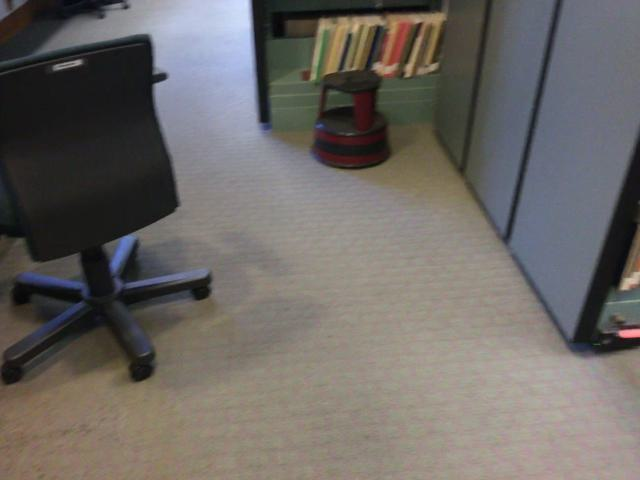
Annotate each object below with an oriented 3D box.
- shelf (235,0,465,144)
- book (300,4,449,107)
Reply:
[{"bbox_3d":[0.100,-1.750,2.600,1.040,2.460,0.700,-4,31,-2],"label":"shelf"},{"bbox_3d":[0.260,-0.980,3.040,0.700,0.390,0.450,-4,31,-2],"label":"book"}]
